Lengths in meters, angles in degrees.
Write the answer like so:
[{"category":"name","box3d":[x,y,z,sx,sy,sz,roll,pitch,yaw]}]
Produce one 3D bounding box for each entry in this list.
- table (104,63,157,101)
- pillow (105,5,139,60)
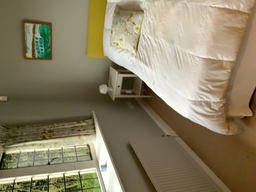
[{"category":"table","box3d":[0.020,-0.230,3.450,0.460,0.700,0.470,-129,43,-59]},{"category":"pillow","box3d":[-0.090,-0.760,2.530,0.430,0.220,0.540,-124,39,-56]}]
